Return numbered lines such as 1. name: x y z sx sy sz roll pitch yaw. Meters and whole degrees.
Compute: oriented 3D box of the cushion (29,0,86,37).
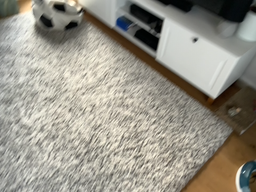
1. cushion: -0.730 -0.910 2.200 0.380 0.290 0.450 -33 60 -30
